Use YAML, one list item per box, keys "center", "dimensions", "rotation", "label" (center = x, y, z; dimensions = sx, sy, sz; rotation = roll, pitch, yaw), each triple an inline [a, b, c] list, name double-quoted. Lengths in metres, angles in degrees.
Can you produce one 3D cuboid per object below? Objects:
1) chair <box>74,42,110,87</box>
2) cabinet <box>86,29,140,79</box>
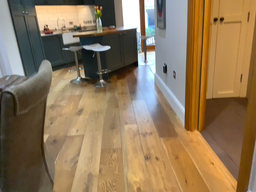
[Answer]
- center: [-0.630, -0.580, 3.800]
  dimensions: [0.370, 0.700, 0.400]
  rotation: [12, 26, 36]
  label: "chair"
- center: [-0.250, -0.960, 4.600]
  dimensions: [0.350, 0.810, 1.420]
  rotation: [9, 24, 30]
  label: "cabinet"
